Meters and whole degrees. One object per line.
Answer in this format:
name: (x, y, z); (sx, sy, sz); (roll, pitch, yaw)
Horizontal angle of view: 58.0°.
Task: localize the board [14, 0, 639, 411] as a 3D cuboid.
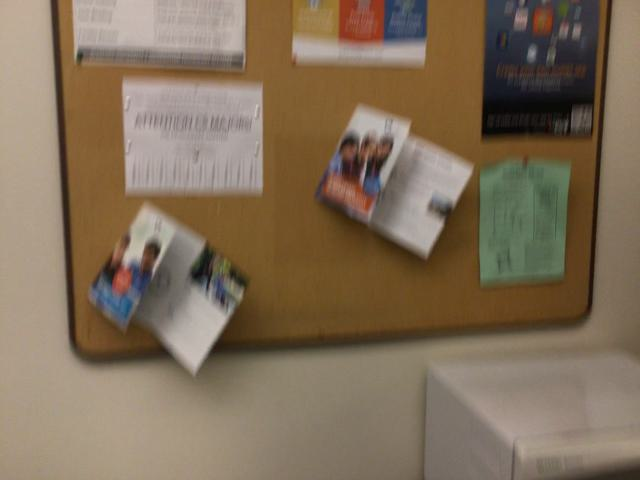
board: (0.080, -0.180, 1.200); (1.240, 0.950, 0.160); (-1, 9, -12)
